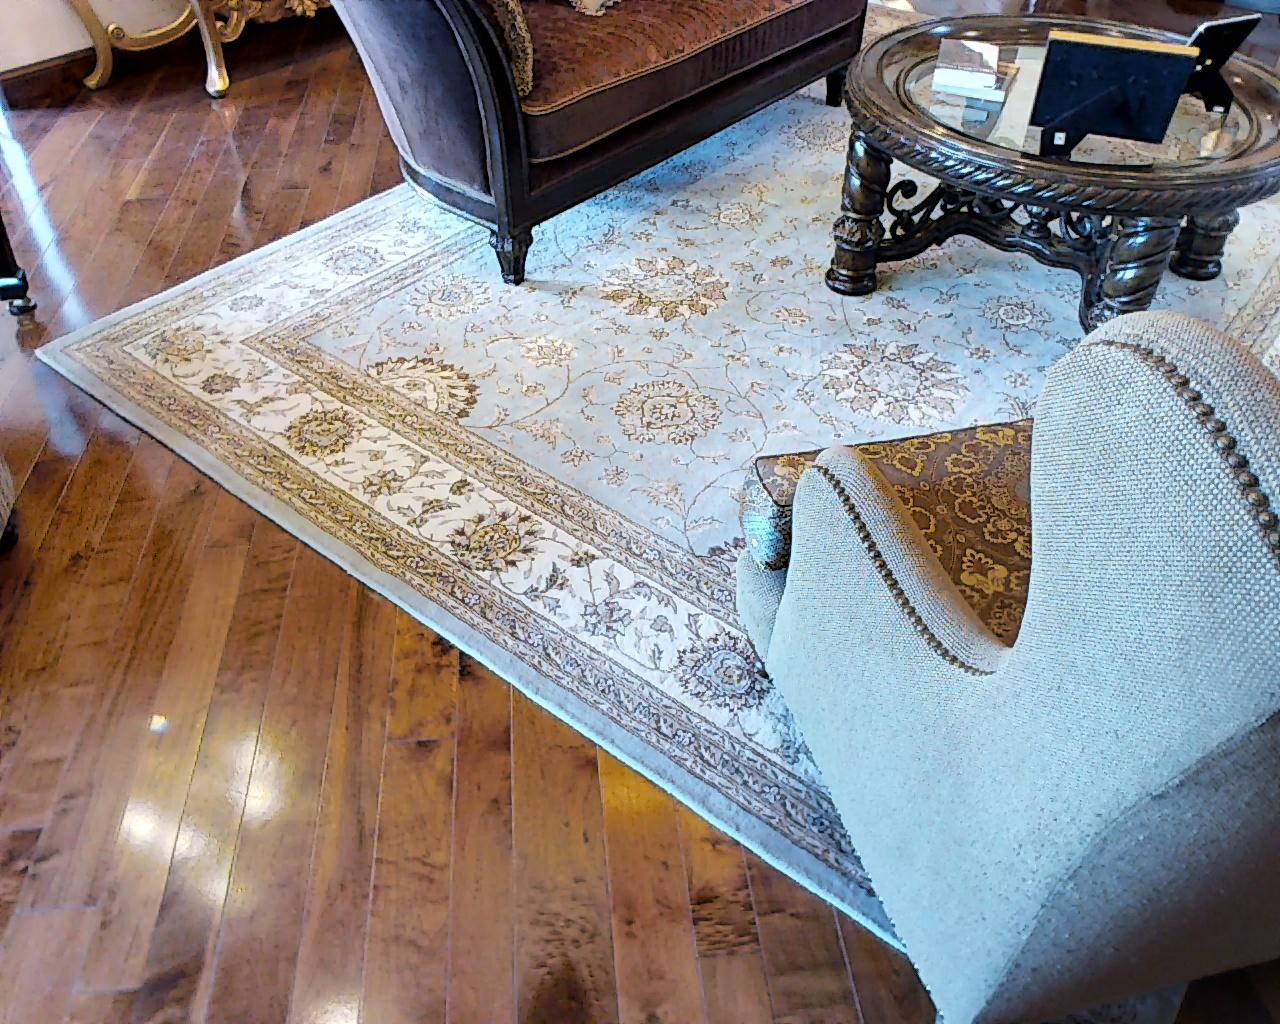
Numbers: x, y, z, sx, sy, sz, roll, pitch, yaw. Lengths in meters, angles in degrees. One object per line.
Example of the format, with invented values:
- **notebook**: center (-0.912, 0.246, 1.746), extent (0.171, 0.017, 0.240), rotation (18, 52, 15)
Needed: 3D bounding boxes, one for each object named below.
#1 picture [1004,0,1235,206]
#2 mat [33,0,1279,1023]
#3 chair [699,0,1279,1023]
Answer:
- **picture**: center (1.140, -0.980, 2.570), extent (0.370, 0.340, 0.120), rotation (26, 53, -3)
- **mat**: center (0.840, -0.880, 3.350), extent (2.930, 0.150, 4.090), rotation (29, 49, 28)
- **chair**: center (0.710, 0.070, 1.410), extent (0.930, 1.230, 1.090), rotation (-10, 42, -11)
